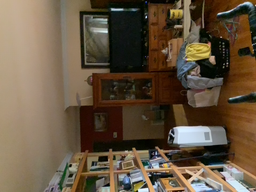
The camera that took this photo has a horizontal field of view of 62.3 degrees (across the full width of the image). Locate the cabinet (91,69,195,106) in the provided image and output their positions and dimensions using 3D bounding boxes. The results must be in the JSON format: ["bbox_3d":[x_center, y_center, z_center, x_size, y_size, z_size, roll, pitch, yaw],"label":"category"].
[{"bbox_3d":[0.260,-0.160,3.990,0.530,1.850,0.620,-157,66,-84],"label":"cabinet"}]
